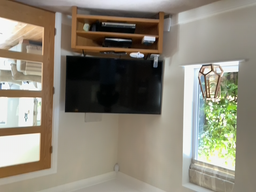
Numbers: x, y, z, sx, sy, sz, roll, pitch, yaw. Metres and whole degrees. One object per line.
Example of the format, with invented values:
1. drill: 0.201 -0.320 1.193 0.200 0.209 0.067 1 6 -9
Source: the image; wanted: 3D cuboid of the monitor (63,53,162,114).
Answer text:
1. monitor: -0.190 -0.150 2.750 1.250 0.740 0.040 2 -179 -6
